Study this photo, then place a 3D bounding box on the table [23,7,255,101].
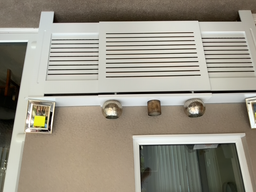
[{"bbox_3d":[0.180,-0.370,1.780,1.900,0.780,0.170,-1,159,-3],"label":"table"}]
